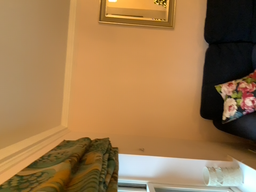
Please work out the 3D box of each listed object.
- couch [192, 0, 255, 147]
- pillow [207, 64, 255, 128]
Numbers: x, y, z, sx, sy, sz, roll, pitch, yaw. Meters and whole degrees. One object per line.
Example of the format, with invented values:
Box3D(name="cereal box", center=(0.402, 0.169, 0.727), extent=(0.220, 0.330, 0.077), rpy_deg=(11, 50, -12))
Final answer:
Box3D(name="couch", center=(1.280, -0.860, 2.110), extent=(0.780, 2.550, 0.990), rpy_deg=(5, -2, -2))
Box3D(name="pillow", center=(1.060, -0.010, 2.020), extent=(0.470, 0.430, 0.140), rpy_deg=(-29, -4, -29))
